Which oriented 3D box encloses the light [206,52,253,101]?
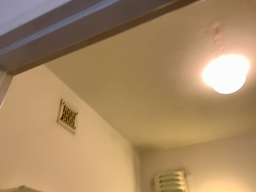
[{"bbox_3d":[0.660,-0.110,1.370,0.310,0.220,0.130,38,-141,-55],"label":"light"}]
